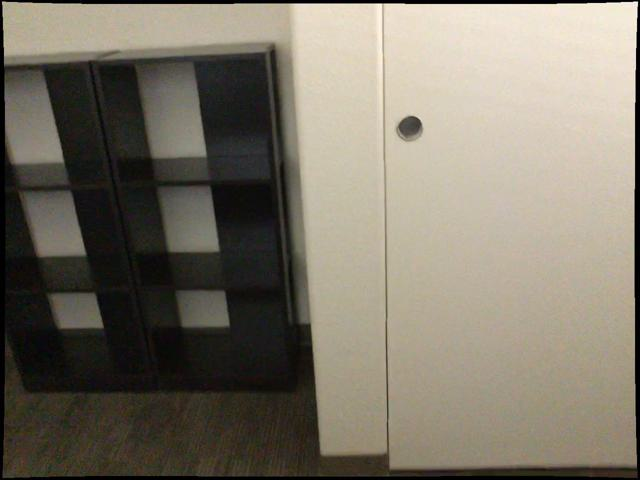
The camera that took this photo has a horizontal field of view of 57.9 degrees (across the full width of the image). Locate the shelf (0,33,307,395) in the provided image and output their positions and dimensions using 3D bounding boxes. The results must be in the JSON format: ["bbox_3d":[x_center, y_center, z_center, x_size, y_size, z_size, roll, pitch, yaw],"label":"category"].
[{"bbox_3d":[-0.639,-0.060,2.060,1.079,1.181,0.400,-2,25,4],"label":"shelf"}]

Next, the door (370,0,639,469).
[{"bbox_3d":[0.619,0.010,1.450,0.949,1.391,0.110,-2,25,4],"label":"door"}]
